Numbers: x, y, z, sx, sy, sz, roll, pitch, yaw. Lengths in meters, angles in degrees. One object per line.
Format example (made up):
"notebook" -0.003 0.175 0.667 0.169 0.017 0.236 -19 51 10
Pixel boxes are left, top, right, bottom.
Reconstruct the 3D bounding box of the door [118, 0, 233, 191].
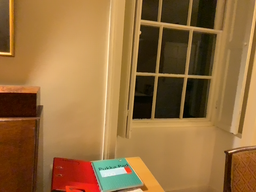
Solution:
"door" 0.460 -0.300 1.970 0.950 2.580 0.110 1 10 -17
